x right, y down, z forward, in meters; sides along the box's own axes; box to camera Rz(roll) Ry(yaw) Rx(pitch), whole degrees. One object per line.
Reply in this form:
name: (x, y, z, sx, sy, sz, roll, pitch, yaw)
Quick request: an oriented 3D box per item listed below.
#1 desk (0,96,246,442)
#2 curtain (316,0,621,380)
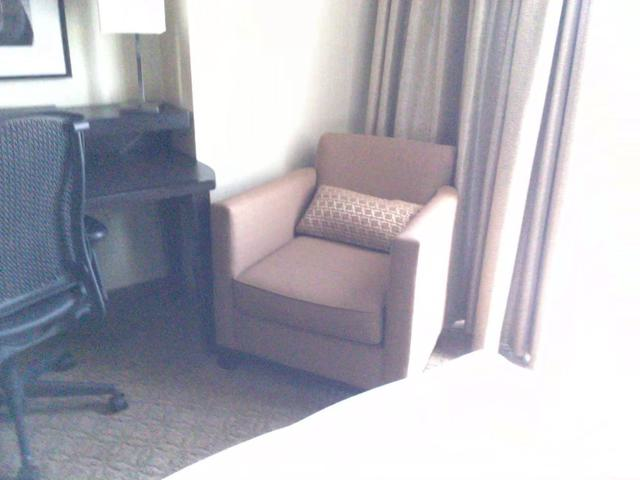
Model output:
desk: (-1.070, 0.050, 2.110, 1.400, 1.000, 0.710, -12, 26, -36)
curtain: (0.510, -0.560, 2.410, 0.300, 1.920, 1.150, -12, 26, -36)
